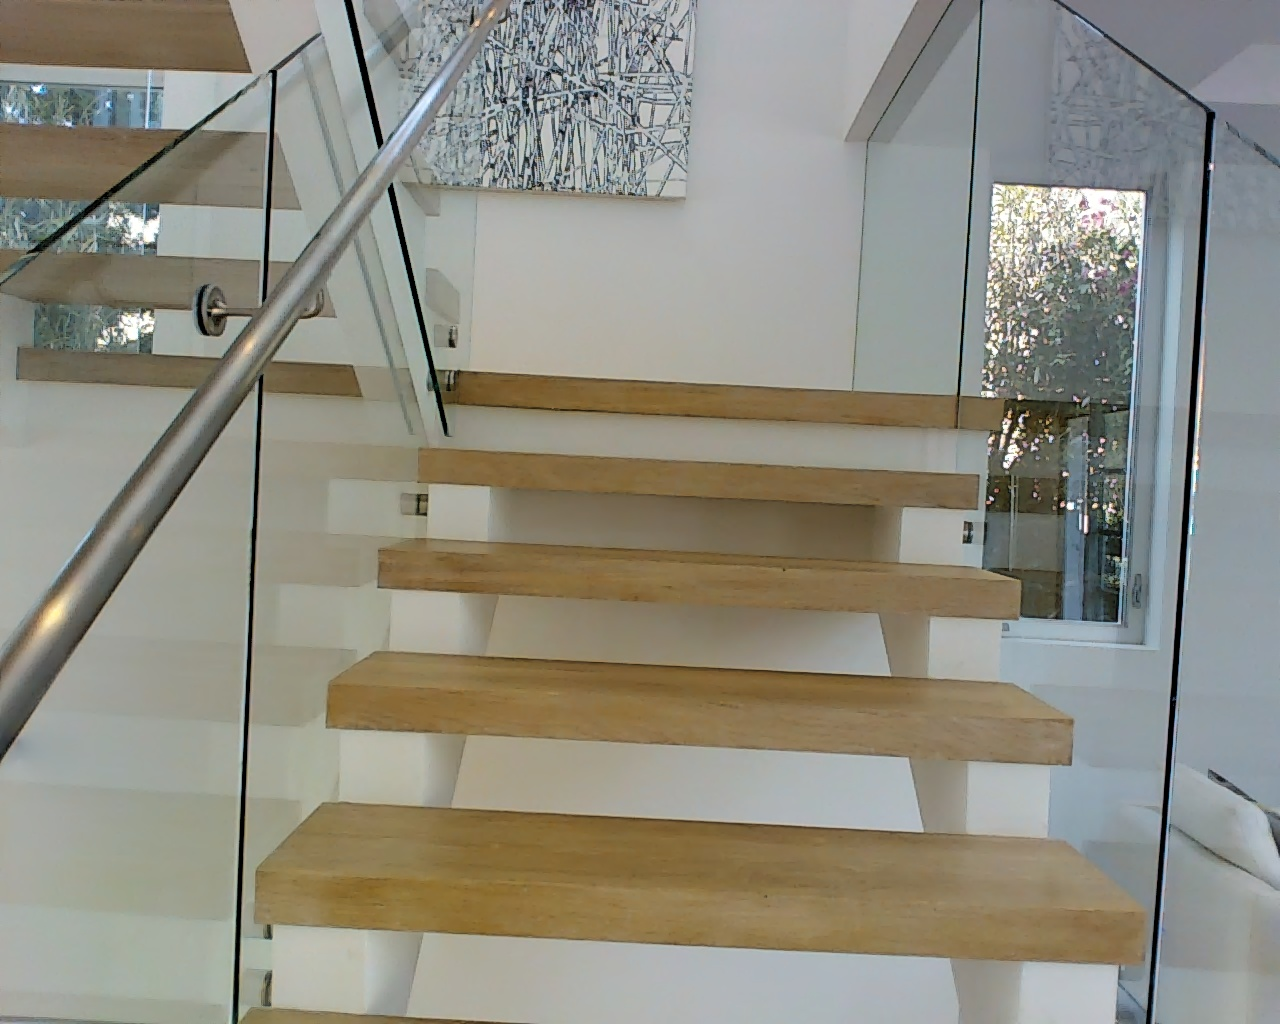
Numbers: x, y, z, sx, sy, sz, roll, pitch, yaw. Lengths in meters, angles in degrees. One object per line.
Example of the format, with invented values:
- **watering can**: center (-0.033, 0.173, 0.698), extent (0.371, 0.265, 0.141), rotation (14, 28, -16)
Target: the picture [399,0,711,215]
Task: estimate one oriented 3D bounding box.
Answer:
- **picture**: center (-0.300, -1.771, 3.950), extent (1.110, 1.291, 0.060), rotation (3, 1, 1)
